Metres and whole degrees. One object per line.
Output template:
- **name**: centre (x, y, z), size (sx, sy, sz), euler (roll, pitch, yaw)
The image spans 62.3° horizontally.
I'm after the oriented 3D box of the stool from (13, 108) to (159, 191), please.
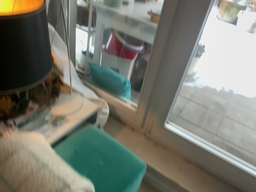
- **stool**: centre (-0.200, 0.450, 1.170), size (0.470, 0.390, 0.550), euler (27, 38, 21)
